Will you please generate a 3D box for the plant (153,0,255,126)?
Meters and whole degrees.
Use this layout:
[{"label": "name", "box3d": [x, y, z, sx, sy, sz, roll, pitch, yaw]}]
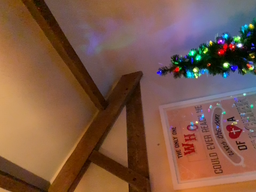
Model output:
[{"label": "plant", "box3d": [1.110, -0.410, 1.640, 0.740, 1.640, 0.750, 66, -163, -50]}]
